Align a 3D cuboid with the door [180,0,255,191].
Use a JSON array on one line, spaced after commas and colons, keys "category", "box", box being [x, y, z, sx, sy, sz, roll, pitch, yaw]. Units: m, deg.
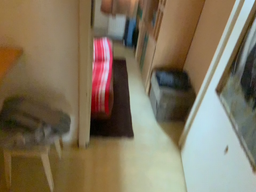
[{"category": "door", "box": [0.610, -0.120, 0.930, 0.080, 1.940, 0.900, 8, 36, -3]}]
